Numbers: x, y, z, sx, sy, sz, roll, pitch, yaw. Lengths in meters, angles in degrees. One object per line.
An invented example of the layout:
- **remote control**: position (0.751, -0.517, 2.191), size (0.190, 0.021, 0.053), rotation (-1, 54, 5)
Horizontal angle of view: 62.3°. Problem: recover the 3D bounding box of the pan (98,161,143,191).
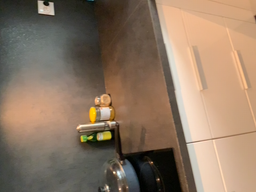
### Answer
- **pan**: position (-0.040, 0.460, 1.050), size (0.250, 0.110, 0.240), rotation (-33, 62, 58)
